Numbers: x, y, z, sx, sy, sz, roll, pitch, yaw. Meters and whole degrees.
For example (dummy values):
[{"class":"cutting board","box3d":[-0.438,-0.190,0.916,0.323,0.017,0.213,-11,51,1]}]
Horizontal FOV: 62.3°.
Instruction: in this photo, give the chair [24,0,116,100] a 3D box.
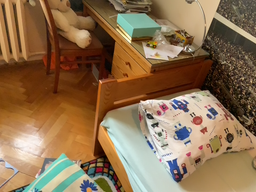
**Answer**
[{"class":"chair","box3d":[-0.530,-0.510,1.860,0.560,0.880,0.520,-12,45,-28]}]
